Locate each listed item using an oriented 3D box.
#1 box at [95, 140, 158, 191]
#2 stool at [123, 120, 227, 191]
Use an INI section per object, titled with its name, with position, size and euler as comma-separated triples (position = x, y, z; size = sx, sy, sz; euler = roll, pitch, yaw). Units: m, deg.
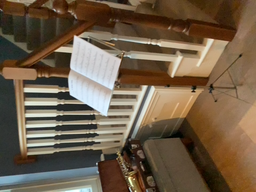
[box]
position = -0.040, 0.730, 1.850
size = 0.540, 0.350, 0.370
euler = -113, 32, -45
[stool]
position = 0.430, 0.850, 1.810
size = 1.250, 0.510, 0.520
euler = -114, 33, -45
